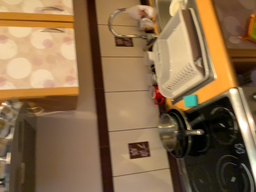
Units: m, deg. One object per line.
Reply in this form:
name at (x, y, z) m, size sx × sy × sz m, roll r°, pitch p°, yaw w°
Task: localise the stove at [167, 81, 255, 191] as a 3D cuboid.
stove at (0.460, 0.280, 1.070) m, size 0.620 × 0.180 × 0.510 m, roll 130°, pitch 134°, yaw -66°
